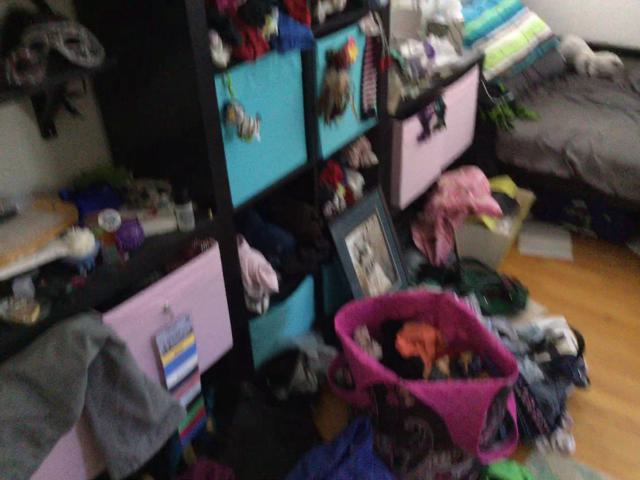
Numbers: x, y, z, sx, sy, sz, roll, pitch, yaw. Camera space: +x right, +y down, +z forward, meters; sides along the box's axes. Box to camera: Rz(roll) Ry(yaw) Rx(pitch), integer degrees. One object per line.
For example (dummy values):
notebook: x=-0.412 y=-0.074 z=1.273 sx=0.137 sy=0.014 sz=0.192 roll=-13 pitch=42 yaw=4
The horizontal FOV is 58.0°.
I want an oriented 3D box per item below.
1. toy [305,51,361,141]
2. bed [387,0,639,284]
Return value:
toy: x=0.040 y=-0.400 z=1.600 sx=0.080 sy=0.210 sz=0.120 roll=19 pitch=39 yaw=36
bed: x=1.450 y=-0.520 z=2.390 sx=1.990 sy=0.930 sz=1.160 roll=19 pitch=39 yaw=36
